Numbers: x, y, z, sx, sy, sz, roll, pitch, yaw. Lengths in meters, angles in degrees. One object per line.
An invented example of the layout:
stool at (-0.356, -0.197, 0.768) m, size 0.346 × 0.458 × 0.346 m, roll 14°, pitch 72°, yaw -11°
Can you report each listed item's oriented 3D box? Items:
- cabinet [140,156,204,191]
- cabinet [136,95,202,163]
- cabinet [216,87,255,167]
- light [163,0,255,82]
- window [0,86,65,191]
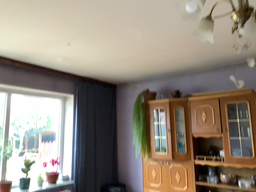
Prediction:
cabinet at (0.660, 1.280, 3.280) m, size 0.840 × 0.600 × 0.440 m, roll -9°, pitch -12°, yaw 38°
cabinet at (0.630, 0.520, 3.380) m, size 0.840 × 0.930 × 0.500 m, roll -9°, pitch -12°, yaw 38°
cabinet at (1.470, 0.400, 2.760) m, size 0.420 × 0.930 × 0.410 m, roll -9°, pitch -12°, yaw 38°
light at (0.710, -0.480, 1.250) m, size 0.510 × 0.520 × 1.390 m, roll -7°, pitch -9°, yaw 32°
window at (-2.130, 0.560, 2.710) m, size 0.120 × 1.510 × 3.000 m, roll -9°, pitch -12°, yaw 37°
